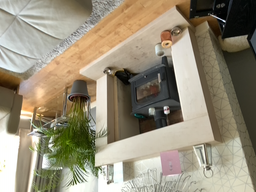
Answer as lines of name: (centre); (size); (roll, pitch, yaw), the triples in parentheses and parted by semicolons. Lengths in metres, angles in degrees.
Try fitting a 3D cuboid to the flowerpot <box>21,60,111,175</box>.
flowerpot: (-0.770, 0.340, 2.770); (0.740, 1.220, 0.750); (-25, 147, 37)
